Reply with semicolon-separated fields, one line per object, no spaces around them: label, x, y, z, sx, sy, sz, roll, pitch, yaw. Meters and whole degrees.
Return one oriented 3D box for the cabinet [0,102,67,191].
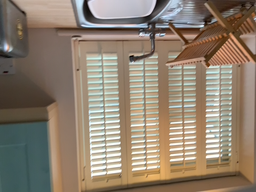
cabinet;-0.490;0.450;1.050;0.310;0.800;0.340;-2;-175;-9
